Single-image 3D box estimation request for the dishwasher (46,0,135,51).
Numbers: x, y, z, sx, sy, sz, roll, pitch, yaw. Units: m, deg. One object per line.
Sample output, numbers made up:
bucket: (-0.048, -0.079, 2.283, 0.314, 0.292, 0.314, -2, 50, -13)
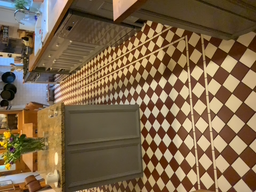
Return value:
dishwasher: (-0.480, -1.030, 2.600, 0.650, 0.880, 0.660, -12, 79, 57)
